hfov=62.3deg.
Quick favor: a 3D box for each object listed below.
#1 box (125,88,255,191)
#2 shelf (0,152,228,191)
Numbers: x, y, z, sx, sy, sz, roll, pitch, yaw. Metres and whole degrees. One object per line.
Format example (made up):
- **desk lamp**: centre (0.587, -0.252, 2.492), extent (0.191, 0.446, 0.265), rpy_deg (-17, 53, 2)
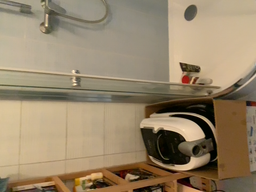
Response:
- **box**: centre (0.420, 0.240, 1.410), extent (0.730, 0.570, 0.510), rpy_deg (-2, 85, 59)
- **shelf**: centre (-0.010, 0.620, 1.270), extent (0.380, 1.400, 0.380), rpy_deg (-8, 80, 59)
